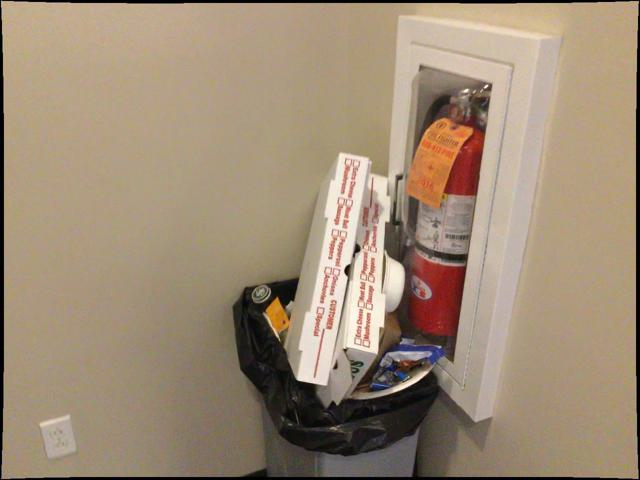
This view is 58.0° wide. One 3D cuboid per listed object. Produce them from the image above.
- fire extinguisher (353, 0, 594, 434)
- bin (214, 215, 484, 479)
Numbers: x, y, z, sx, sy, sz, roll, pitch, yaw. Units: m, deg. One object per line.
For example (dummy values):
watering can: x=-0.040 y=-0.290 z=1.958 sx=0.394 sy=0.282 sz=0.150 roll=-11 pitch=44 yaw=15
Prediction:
fire extinguisher: x=0.229 y=-0.060 z=1.110 sx=0.170 sy=0.711 sz=0.420 roll=-9 pitch=28 yaw=-17
bin: x=0.020 y=0.471 z=1.390 sx=0.379 sy=0.872 sz=0.550 roll=-9 pitch=28 yaw=-17
